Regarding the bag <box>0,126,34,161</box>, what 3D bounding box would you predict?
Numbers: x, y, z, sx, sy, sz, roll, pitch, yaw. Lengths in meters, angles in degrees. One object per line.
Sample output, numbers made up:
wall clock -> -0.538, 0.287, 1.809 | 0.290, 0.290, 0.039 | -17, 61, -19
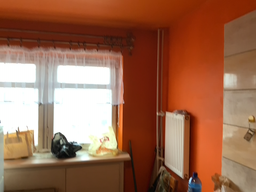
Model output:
bag -> -1.230, 0.500, 2.290 | 0.360, 0.300, 0.270 | 1, 1, -16

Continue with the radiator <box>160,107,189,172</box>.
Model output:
radiator -> 0.480, 0.430, 2.250 | 0.090, 0.590, 0.440 | 1, 1, -16
